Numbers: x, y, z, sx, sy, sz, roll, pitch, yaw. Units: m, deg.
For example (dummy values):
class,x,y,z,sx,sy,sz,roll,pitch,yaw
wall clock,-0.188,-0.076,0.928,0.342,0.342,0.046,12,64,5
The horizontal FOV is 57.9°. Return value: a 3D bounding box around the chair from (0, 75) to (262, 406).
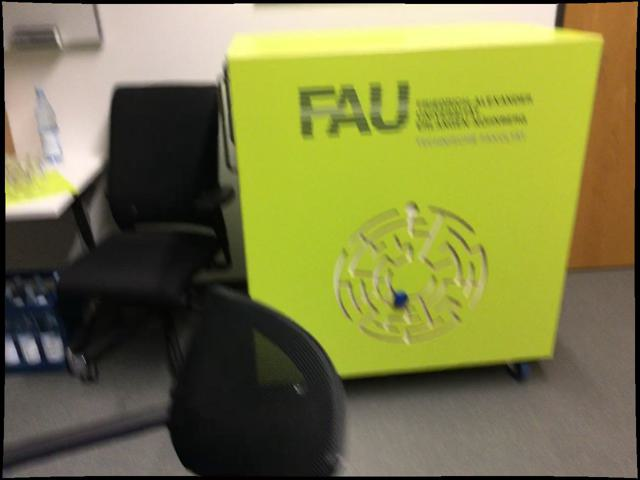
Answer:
class,x,y,z,sx,sy,sz,roll,pitch,yaw
chair,-0.659,-0.040,2.260,0.739,1.021,0.790,-3,25,-1
